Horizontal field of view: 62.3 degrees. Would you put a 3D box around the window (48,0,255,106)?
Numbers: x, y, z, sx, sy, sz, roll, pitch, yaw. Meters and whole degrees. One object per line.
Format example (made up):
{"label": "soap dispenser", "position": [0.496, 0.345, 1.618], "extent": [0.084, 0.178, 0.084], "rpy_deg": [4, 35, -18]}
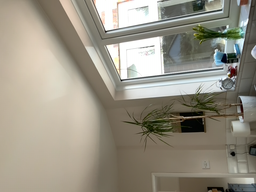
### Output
{"label": "window", "position": [0.240, -0.510, 1.780], "extent": [1.370, 1.340, 0.330], "rpy_deg": [68, -157, -46]}
